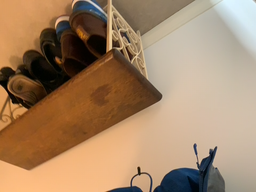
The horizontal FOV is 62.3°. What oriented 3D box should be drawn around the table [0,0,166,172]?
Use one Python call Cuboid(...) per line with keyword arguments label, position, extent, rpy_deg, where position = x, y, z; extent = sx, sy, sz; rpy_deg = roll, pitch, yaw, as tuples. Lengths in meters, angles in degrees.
Cuboid(label="table", position=(-0.280, -0.050, 0.930), extent=(0.770, 0.460, 0.270), rpy_deg=(-29, 132, 23))
